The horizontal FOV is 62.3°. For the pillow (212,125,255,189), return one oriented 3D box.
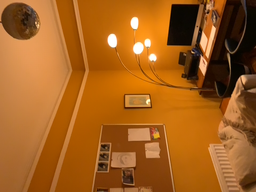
[{"bbox_3d":[1.150,0.580,2.090,0.370,0.500,0.160,37,146,34],"label":"pillow"}]

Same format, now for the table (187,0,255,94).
[{"bbox_3d":[1.450,-0.880,3.160,0.750,0.710,1.620,-89,-2,-47],"label":"table"}]

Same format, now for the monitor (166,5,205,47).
[{"bbox_3d":[0.860,-1.050,3.240,0.050,0.470,0.630,-96,3,-45],"label":"monitor"}]
